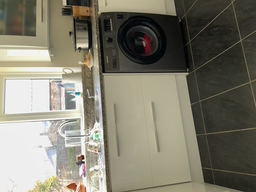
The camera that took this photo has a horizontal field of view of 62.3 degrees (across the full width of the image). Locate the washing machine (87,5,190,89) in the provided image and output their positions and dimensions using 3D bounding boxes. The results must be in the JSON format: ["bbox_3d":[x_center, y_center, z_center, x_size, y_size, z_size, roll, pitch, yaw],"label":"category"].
[{"bbox_3d":[0.050,-0.470,2.360,0.750,0.900,0.620,143,124,-71],"label":"washing machine"}]

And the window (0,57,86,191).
[{"bbox_3d":[-1.040,0.510,2.480,0.370,0.990,1.880,146,121,-71],"label":"window"}]
